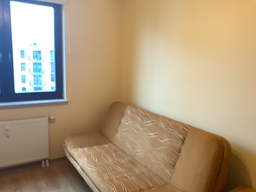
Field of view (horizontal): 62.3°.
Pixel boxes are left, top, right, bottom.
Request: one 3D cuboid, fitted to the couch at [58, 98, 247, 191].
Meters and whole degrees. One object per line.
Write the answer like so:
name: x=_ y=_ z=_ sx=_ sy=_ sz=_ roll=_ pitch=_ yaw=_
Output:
couch: x=0.010 y=0.660 z=2.430 sx=1.110 sy=0.900 sz=1.980 roll=-3 pitch=11 yaw=-31
